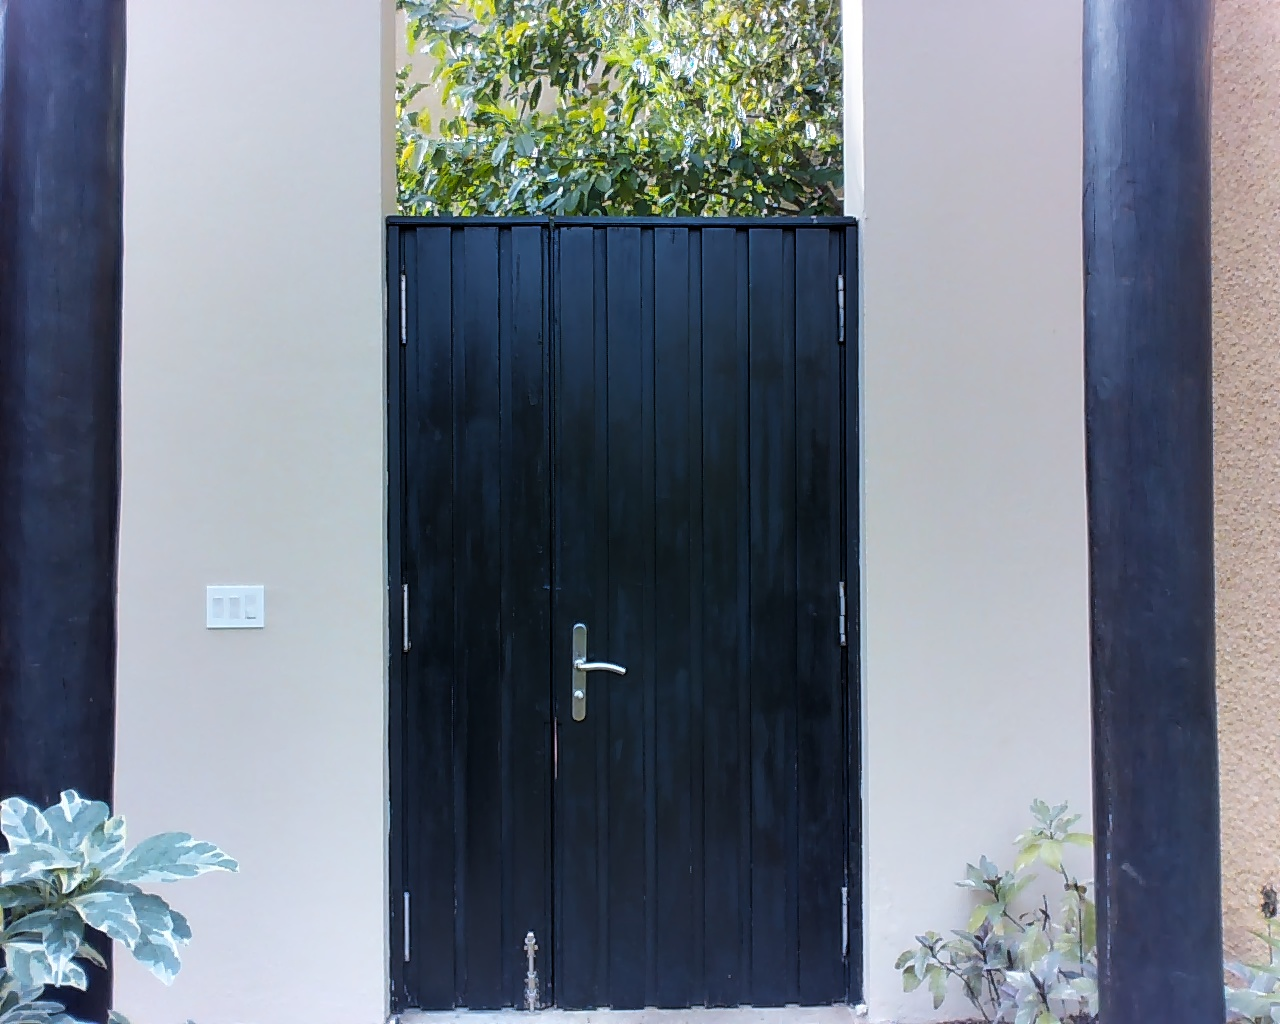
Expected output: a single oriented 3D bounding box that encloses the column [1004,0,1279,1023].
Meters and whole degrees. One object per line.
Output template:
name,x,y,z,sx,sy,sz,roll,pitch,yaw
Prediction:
column,0.980,0.090,1.980,0.480,2.781,0.330,-1,0,-2
